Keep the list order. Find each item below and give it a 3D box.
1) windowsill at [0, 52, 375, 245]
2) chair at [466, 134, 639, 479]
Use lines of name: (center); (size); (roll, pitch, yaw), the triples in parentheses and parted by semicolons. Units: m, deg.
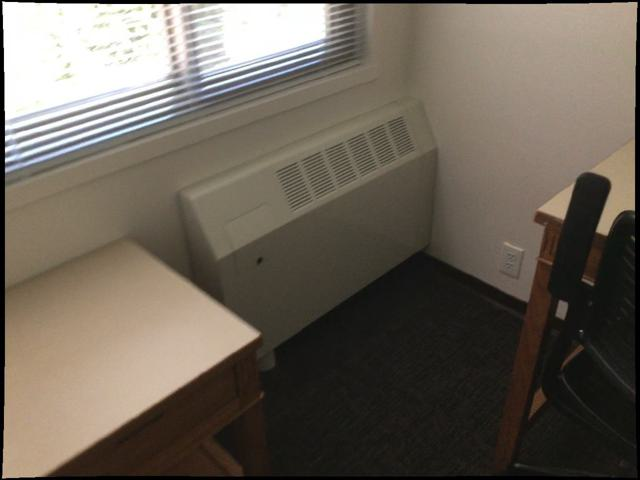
windowsill: (-0.459, -0.190, 1.360); (1.688, 0.140, 0.080); (-29, 42, -35)
chair: (0.658, 0.371, 1.000); (0.250, 0.902, 0.699); (-28, 42, -35)
